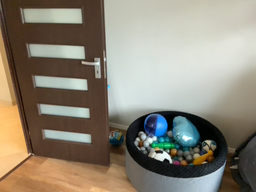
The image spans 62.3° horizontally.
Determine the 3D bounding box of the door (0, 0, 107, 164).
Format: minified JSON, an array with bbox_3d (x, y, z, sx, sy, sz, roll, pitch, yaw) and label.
[{"bbox_3d":[-0.630,-0.220,1.870,0.810,1.870,0.120,4,24,9],"label":"door"}]
